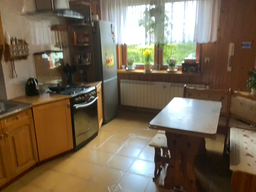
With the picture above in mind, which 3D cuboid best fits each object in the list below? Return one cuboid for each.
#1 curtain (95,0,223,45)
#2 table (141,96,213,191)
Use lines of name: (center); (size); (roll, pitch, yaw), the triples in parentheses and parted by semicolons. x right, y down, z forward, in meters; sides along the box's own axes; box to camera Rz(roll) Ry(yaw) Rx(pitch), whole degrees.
curtain: (0.480, -1.530, 3.960); (2.340, 1.120, 0.200); (5, 16, 20)
table: (0.620, 0.530, 2.510); (0.620, 0.790, 1.040); (6, 16, 22)
